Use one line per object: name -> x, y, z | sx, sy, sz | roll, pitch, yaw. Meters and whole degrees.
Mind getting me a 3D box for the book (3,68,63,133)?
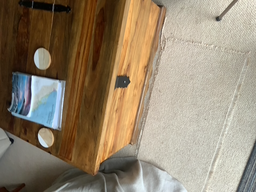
book -> -0.500, 0.010, 1.090 | 0.380, 0.040, 0.270 | 10, 100, 25
